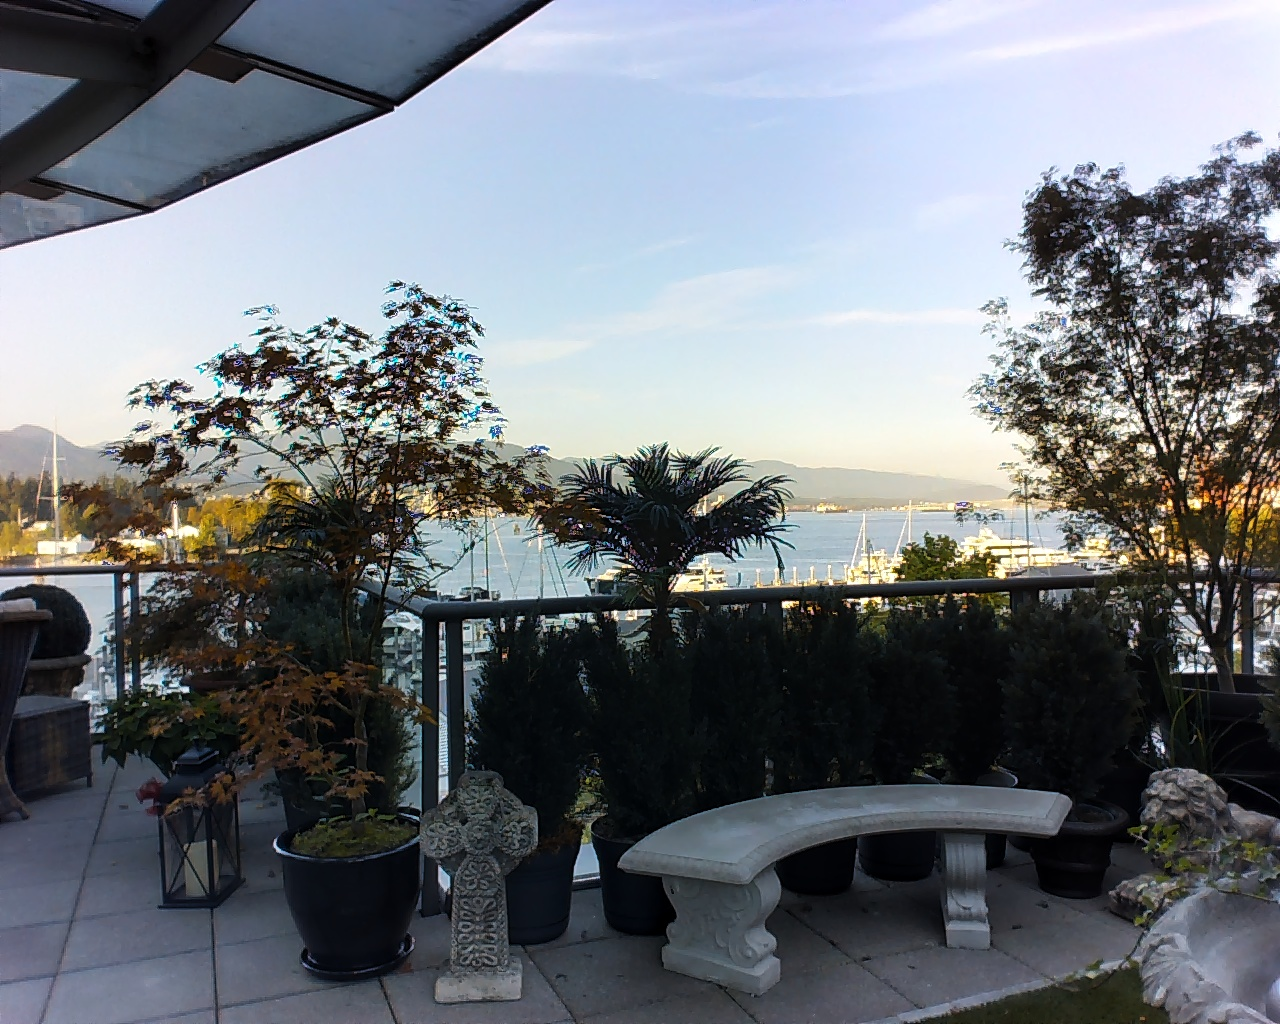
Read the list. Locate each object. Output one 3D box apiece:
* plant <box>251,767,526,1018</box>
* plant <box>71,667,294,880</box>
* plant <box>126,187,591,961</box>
[{"bbox_3d":[-0.790,1.160,3.420,0.520,0.500,0.670,-1,0,40],"label":"plant"},{"bbox_3d":[-1.950,1.070,4.590,0.640,0.690,0.660,-1,0,41],"label":"plant"},{"bbox_3d":[-0.920,0.130,3.160,1.050,1.640,1.450,-1,0,-26],"label":"plant"}]
